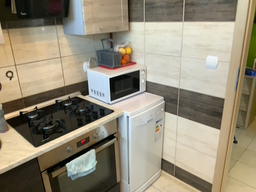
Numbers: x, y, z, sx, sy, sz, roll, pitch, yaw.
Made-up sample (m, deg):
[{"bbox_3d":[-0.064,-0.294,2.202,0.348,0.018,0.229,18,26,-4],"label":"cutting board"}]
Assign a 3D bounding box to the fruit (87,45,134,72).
[{"bbox_3d":[-0.160,-0.360,1.970,0.310,0.170,0.300,17,28,40],"label":"fruit"}]
